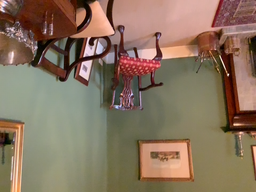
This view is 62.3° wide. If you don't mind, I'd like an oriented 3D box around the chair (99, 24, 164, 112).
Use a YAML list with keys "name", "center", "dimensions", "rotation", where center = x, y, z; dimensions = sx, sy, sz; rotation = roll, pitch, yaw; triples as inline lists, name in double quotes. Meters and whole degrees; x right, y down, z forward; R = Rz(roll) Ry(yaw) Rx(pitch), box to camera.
- name: "chair"
  center: [0.000, -0.310, 2.970]
  dimensions: [0.610, 0.960, 0.810]
  rotation: [4, 168, -23]
